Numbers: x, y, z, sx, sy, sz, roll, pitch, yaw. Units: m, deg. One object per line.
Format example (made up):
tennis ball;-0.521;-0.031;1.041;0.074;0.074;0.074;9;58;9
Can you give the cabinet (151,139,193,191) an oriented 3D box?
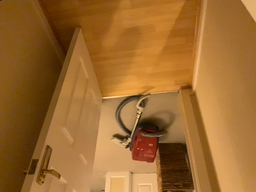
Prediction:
cabinet;0.570;1.060;2.830;0.430;0.570;0.930;-5;140;8

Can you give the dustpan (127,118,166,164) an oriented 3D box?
dustpan;0.190;0.530;2.440;0.350;0.270;0.560;4;140;-3
